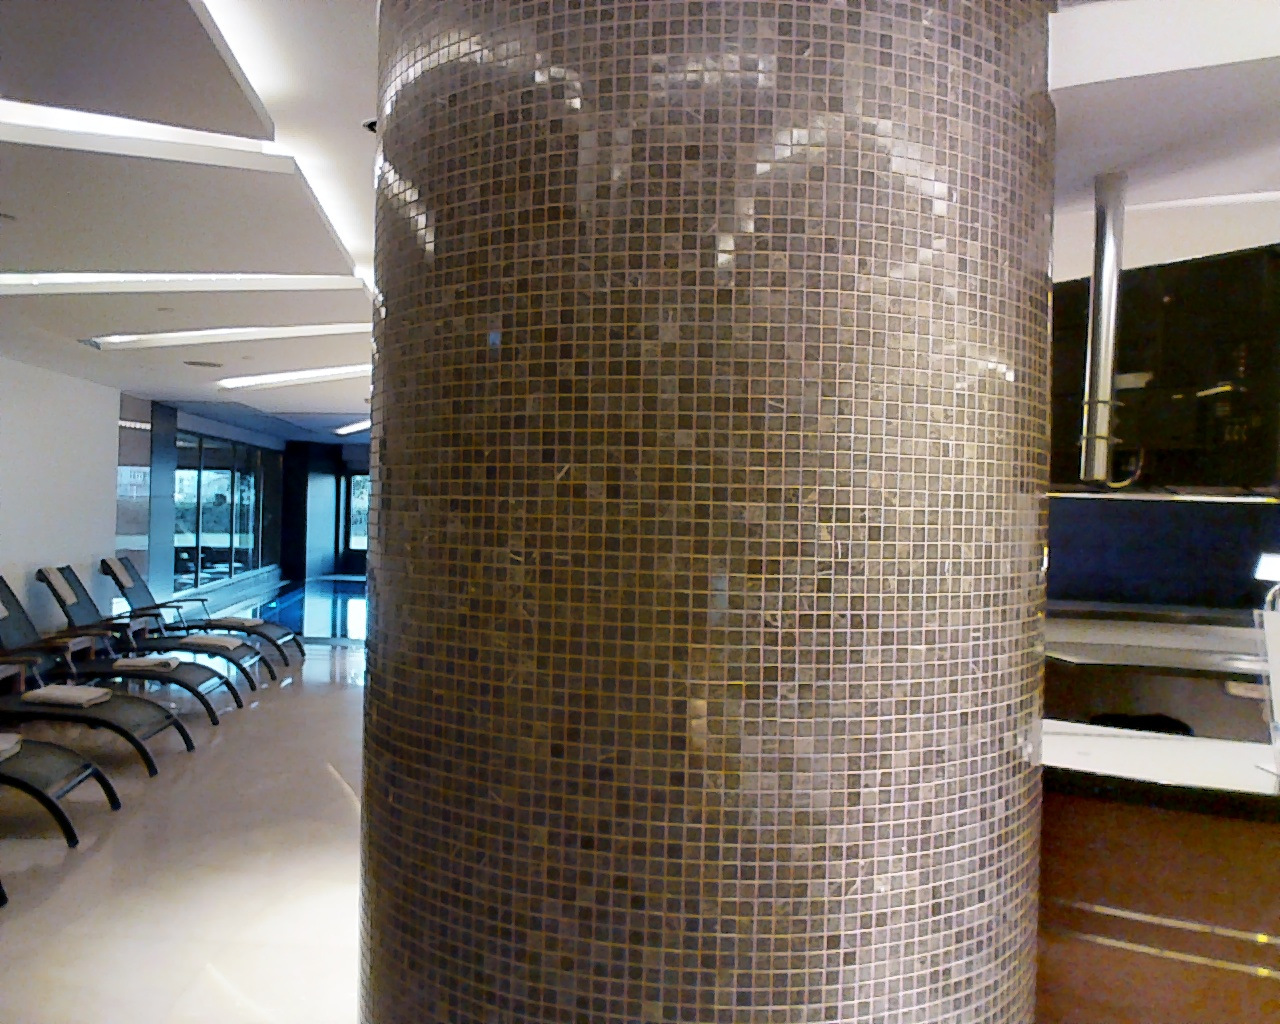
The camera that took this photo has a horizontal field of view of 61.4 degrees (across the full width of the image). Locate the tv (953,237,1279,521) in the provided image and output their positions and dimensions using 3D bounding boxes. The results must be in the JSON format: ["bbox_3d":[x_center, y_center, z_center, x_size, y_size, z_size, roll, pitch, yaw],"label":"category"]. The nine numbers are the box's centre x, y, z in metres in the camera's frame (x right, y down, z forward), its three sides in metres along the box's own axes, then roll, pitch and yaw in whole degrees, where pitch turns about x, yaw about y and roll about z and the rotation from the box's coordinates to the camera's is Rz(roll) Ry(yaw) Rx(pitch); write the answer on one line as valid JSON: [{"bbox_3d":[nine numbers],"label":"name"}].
[{"bbox_3d":[1.110,-0.250,2.390,0.230,0.530,0.880,1,0,-29],"label":"tv"}]
